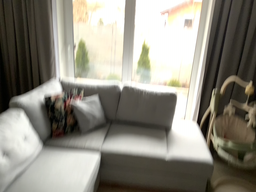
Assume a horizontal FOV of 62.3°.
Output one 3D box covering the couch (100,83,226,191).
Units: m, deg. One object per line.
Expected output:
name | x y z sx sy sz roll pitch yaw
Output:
couch | 0.300 0.410 2.270 1.010 0.830 0.880 5 19 5

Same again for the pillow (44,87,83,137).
pillow | -0.660 0.150 2.260 0.250 0.350 0.500 1 19 -1

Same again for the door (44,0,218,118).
door | 0.010 -0.960 2.660 1.990 2.350 0.370 5 19 4

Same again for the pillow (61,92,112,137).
pillow | -0.440 0.200 2.300 0.260 0.340 0.340 -9 24 45
